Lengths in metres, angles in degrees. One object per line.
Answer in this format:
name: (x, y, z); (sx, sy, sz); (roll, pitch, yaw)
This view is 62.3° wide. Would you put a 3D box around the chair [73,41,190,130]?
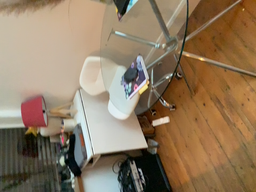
chair: (0.000, -0.070, 2.000); (0.580, 0.820, 0.500); (-56, 44, 42)
